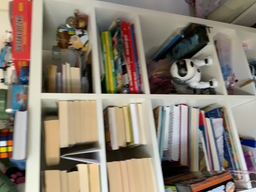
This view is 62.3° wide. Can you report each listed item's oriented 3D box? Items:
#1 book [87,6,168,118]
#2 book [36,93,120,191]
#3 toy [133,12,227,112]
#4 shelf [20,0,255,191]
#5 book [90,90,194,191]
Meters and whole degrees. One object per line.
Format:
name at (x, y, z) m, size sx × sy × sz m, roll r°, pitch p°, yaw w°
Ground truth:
book at (-0.040, -0.110, 0.940) m, size 0.400 × 0.200 × 0.330 m, roll 139°, pitch 128°, yaw -62°
book at (-0.200, 0.220, 0.740) m, size 0.390 × 0.210 × 0.350 m, roll 139°, pitch 128°, yaw -62°
toy at (0.210, -0.130, 0.950) m, size 0.240 × 0.270 × 0.350 m, roll 139°, pitch 128°, yaw -62°
shelf at (0.310, 0.060, 1.000) m, size 0.390 × 1.410 × 0.730 m, roll 138°, pitch 129°, yaw -62°
book at (0.010, 0.230, 0.810) m, size 0.420 × 0.210 × 0.380 m, roll 139°, pitch 128°, yaw -62°
